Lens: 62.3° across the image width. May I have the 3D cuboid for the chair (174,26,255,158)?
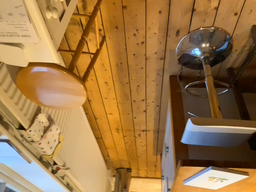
[{"bbox_3d":[0.560,-0.040,1.410,0.420,0.750,0.450,-1,142,7],"label":"chair"}]
